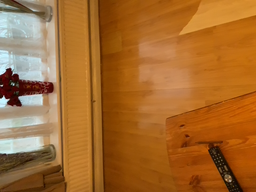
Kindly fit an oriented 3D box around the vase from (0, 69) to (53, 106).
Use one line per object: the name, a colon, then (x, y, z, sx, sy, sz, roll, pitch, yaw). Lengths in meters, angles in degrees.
vase: (-0.930, -0.070, 1.820, 0.170, 0.500, 0.280, -7, 86, 45)
